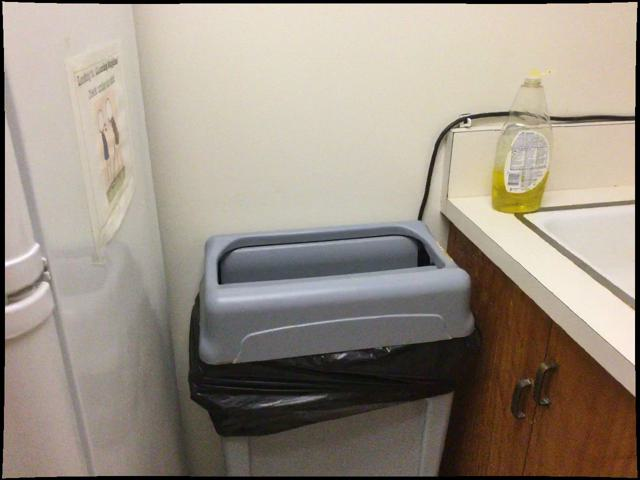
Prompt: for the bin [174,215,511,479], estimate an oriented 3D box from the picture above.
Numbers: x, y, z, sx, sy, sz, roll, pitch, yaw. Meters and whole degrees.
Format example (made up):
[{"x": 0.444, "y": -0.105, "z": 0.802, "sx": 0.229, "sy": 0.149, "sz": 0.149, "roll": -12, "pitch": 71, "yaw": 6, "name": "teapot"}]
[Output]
[{"x": 0.020, "y": 0.431, "z": 1.330, "sx": 0.609, "sy": 0.882, "sz": 0.310, "roll": -5, "pitch": 25, "yaw": -12, "name": "bin"}]
